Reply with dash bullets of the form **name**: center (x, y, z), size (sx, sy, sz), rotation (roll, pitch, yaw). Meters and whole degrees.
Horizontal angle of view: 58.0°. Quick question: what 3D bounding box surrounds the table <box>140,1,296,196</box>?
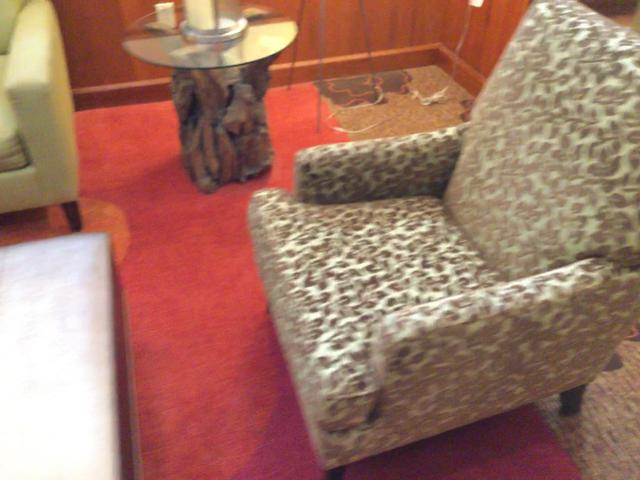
- **table**: center (-0.410, -0.580, 2.340), size (0.490, 0.590, 0.450), rotation (-10, 42, -17)

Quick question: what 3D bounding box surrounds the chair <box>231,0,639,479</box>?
- **chair**: center (0.300, -0.030, 1.480), size (0.910, 0.960, 0.800), rotation (-7, 41, -14)
